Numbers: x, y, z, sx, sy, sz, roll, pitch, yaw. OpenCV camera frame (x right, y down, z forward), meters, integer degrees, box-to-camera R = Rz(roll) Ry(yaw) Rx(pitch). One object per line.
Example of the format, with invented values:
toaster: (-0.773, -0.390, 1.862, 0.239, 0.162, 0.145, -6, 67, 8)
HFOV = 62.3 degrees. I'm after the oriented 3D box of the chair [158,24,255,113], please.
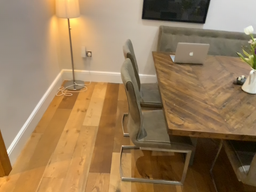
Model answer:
chair: (1.050, -0.380, 2.910, 1.100, 0.960, 0.600, 5, 31, 0)
